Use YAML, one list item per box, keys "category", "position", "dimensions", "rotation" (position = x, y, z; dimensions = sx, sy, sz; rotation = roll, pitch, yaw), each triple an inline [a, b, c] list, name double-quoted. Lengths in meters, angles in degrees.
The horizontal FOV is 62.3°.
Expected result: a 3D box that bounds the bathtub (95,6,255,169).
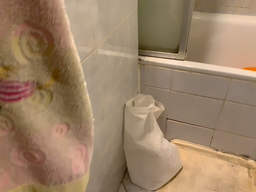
- category: "bathtub"
  position: [0.620, -0.080, 1.280]
  dimensions: [1.390, 0.560, 0.710]
  rotation: [13, 43, 18]
